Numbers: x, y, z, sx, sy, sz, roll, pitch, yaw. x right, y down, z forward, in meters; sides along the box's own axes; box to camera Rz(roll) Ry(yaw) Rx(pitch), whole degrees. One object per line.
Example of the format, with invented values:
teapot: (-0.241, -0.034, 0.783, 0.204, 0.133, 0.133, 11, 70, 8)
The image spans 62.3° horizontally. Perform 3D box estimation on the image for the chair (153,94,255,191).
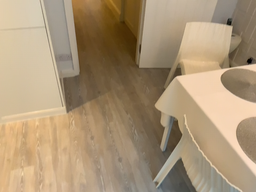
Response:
chair: (0.540, 0.490, 1.230, 0.530, 0.770, 0.540, -9, 43, -14)

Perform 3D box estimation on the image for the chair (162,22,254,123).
chair: (0.670, -0.210, 2.030, 0.520, 0.770, 0.530, 4, 42, 0)

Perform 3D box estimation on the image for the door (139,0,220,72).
door: (0.580, -1.070, 2.140, 0.760, 1.980, 0.040, 0, 42, -5)
